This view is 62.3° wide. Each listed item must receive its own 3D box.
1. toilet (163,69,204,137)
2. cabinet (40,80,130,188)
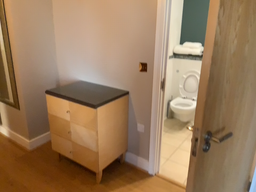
[{"bbox_3d":[0.840,0.090,3.220,0.380,0.880,0.450,14,23,33],"label":"toilet"},{"bbox_3d":[-0.460,0.350,2.350,0.790,0.860,0.510,14,23,33],"label":"cabinet"}]
